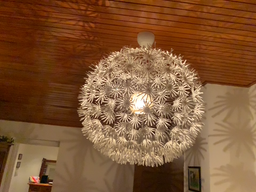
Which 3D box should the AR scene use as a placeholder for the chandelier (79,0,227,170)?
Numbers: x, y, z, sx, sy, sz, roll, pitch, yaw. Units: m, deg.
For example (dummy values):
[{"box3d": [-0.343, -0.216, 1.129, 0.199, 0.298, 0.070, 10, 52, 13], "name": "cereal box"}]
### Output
[{"box3d": [0.120, -0.010, 1.720, 0.820, 1.050, 0.910, 7, 163, -8], "name": "chandelier"}]
